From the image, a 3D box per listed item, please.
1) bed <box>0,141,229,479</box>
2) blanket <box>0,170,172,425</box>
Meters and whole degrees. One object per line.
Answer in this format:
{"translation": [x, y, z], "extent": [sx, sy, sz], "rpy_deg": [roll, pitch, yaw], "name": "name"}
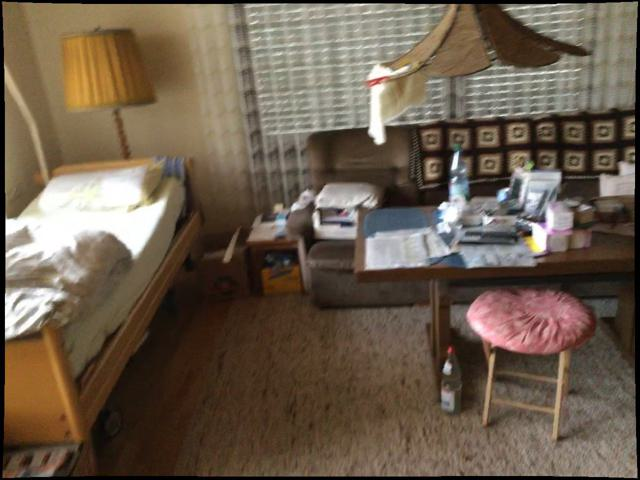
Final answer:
{"translation": [-1.249, 0.200, 2.750], "extent": [1.149, 0.821, 2.130], "rpy_deg": [-3, 22, 4], "name": "bed"}
{"translation": [-1.149, 0.120, 2.010], "extent": [0.919, 0.390, 1.110], "rpy_deg": [-3, 22, 3], "name": "blanket"}
